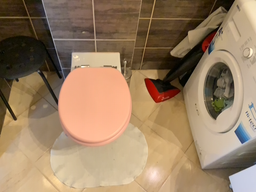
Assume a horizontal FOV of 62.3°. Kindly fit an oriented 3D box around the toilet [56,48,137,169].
[{"bbox_3d":[-0.190,0.080,1.280,0.360,0.440,0.570,-3,59,-8],"label":"toilet"}]

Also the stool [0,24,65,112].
[{"bbox_3d":[-0.620,-0.160,1.350,0.350,0.450,0.330,-3,59,-8],"label":"stool"}]
